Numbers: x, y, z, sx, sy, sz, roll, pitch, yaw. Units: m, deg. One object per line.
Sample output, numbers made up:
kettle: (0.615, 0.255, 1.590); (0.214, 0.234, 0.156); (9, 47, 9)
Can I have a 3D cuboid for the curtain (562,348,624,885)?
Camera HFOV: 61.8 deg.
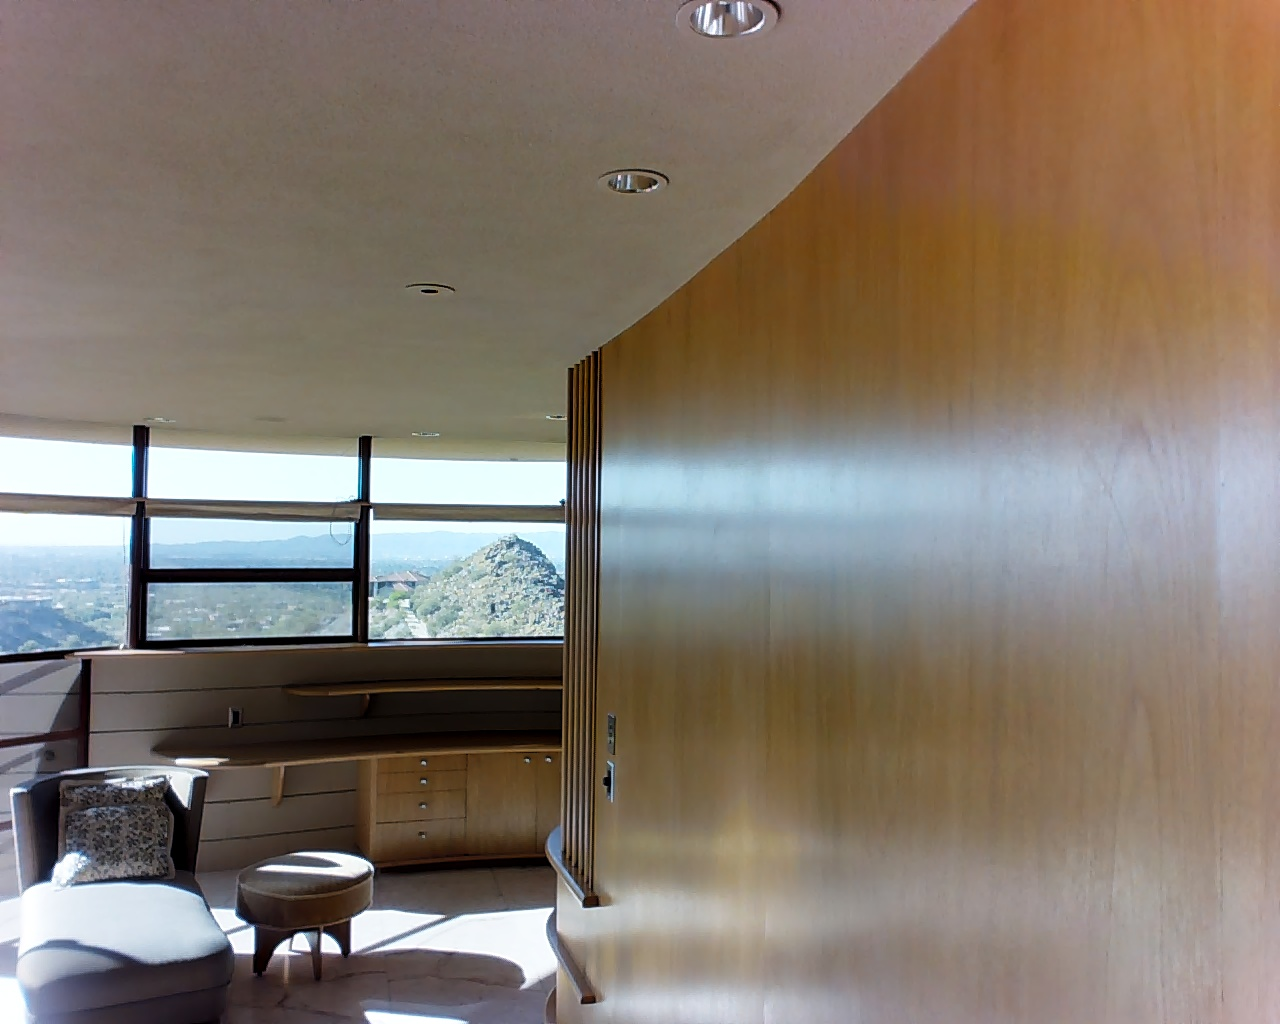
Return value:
curtain: (-0.170, 0.340, 3.730); (0.110, 1.740, 0.500); (1, -2, -13)
